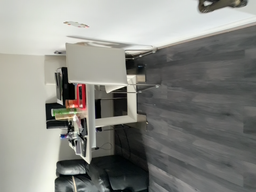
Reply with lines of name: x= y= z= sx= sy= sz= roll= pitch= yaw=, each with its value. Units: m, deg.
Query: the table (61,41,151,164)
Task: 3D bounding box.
table: x=-0.320 y=0.040 z=2.660 sx=0.980 sy=0.760 sz=1.190 roll=5 pitch=96 yaw=60

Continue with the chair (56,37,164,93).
chair: x=-0.190 y=-0.280 z=2.210 sx=0.530 sy=0.960 sz=0.380 roll=-18 pitch=77 yaw=59
